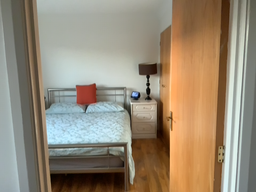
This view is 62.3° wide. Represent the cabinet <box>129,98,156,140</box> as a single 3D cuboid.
[{"bbox_3d":[0.270,0.430,4.210,0.490,0.700,0.540,-1,9,-1],"label":"cabinet"}]
